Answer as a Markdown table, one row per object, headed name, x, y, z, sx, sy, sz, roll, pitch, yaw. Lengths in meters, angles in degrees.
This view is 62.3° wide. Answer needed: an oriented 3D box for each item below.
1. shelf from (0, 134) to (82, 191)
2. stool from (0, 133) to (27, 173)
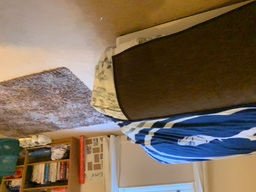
| name | x | y | z | sx | sy | sz | roll | pitch | yaw |
| --- | --- | --- | --- | --- | --- | --- | --- | --- | --- |
| shelf | -1.470 | 1.230 | 3.260 | 1.450 | 1.050 | 0.330 | -10 | 152 | 15 |
| stool | -1.860 | 0.870 | 3.180 | 0.400 | 0.480 | 0.370 | -10 | 152 | 14 |
